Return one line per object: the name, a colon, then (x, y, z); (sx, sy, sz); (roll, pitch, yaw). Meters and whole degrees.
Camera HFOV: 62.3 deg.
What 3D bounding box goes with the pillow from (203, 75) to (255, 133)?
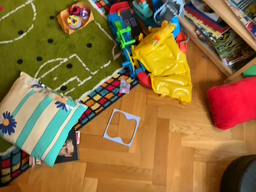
pillow: (0.660, 0.040, 1.210); (0.390, 0.100, 0.300); (-3, 75, -4)
